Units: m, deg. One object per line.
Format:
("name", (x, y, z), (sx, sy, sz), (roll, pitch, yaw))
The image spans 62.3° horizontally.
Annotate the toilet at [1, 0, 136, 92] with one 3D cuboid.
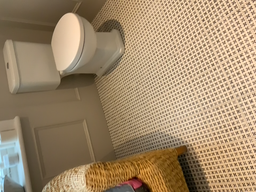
("toilet", (-0.480, -0.380, 1.650), (0.670, 0.750, 0.420), (-34, 69, 47))
